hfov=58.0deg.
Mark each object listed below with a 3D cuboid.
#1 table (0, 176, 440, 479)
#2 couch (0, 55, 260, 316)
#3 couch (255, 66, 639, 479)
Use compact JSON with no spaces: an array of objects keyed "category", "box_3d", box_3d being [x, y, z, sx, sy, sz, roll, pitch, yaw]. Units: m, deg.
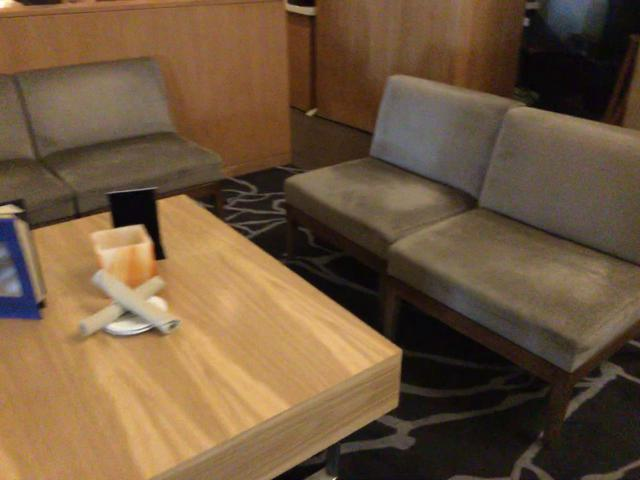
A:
[{"category":"table","box_3d":[-0.550,0.330,1.640,1.030,0.470,1.370,-16,31,-32]},{"category":"couch","box_3d":[-1.230,-0.300,2.580,1.710,0.780,0.860,-19,32,-36]},{"category":"couch","box_3d":[0.500,-0.090,2.200,0.780,0.830,1.580,-16,31,-32]}]
